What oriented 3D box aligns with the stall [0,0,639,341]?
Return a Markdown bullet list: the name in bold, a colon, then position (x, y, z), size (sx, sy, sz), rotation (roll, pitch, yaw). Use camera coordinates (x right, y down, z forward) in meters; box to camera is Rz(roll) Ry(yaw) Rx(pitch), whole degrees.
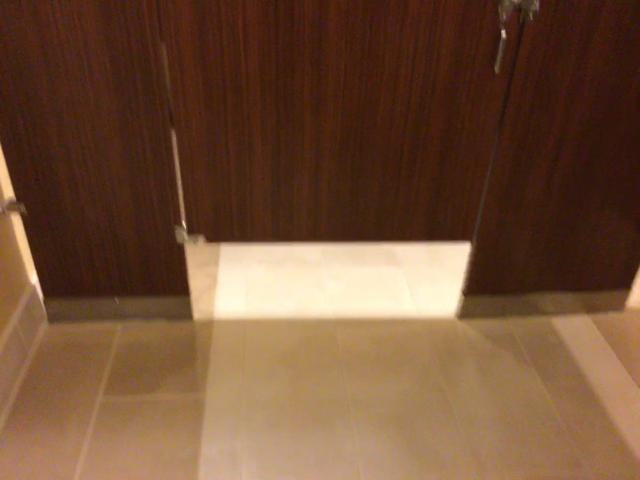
- **stall**: position (0.120, -0.350, 1.630), size (2.080, 1.410, 0.200), rotation (-1, 32, -3)
